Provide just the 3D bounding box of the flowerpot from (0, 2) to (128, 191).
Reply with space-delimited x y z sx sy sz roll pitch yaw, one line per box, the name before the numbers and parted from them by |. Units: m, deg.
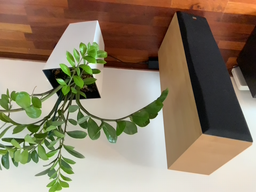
flowerpot | -0.390 -0.060 1.190 0.730 0.990 0.480 1 139 2
